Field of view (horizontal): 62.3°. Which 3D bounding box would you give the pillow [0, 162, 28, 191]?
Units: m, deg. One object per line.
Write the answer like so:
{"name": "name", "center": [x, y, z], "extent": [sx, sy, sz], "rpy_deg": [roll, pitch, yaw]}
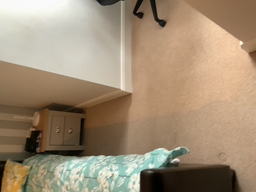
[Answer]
{"name": "pillow", "center": [-1.110, 0.960, 1.980], "extent": [0.440, 0.140, 0.620], "rpy_deg": [-16, 68, 49]}
